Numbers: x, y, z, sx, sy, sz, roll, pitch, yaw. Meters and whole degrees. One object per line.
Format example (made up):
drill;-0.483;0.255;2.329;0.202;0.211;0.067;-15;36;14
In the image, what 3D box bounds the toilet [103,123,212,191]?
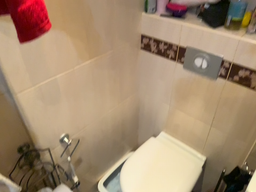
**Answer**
toilet;0.170;0.540;1.280;0.370;0.440;0.490;29;47;31
